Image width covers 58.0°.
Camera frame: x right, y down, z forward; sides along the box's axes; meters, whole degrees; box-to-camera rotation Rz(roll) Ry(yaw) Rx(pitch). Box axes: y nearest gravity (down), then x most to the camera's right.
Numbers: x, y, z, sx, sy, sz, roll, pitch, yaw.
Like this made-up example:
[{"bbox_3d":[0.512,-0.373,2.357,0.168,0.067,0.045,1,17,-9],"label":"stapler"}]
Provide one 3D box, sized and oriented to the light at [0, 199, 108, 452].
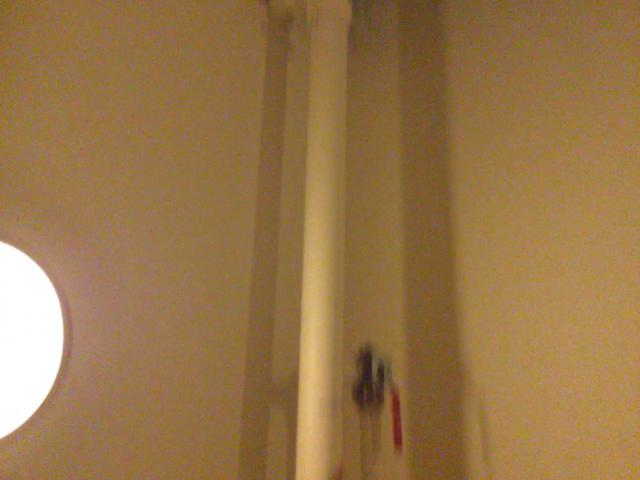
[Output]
[{"bbox_3d":[-0.540,0.150,1.000,0.110,0.400,0.290,-16,-25,29],"label":"light"}]
